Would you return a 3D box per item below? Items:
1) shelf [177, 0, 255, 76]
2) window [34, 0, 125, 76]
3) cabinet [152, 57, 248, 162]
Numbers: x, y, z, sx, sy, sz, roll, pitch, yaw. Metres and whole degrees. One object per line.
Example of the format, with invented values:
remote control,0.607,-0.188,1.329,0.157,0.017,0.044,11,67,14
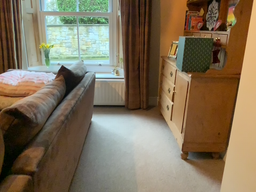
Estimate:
shelf,0.830,-0.890,2.150,0.230,1.140,1.190,1,18,-4
window,-0.710,-1.220,3.210,1.310,1.800,0.170,2,18,0
cabinet,0.660,0.040,2.390,0.530,0.790,1.210,1,18,-4
